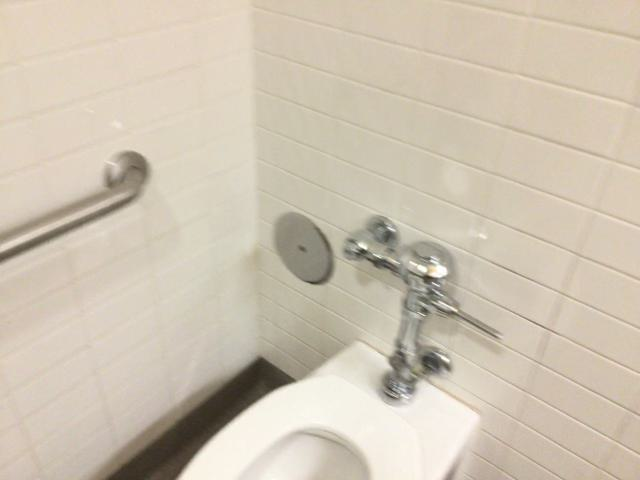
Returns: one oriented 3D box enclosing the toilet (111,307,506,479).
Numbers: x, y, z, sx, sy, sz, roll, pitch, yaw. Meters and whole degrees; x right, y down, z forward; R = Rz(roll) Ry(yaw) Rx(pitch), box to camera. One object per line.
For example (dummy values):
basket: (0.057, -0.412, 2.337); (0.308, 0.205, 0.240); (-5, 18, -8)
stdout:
toilet: (-0.020, 0.500, 1.050); (0.390, 0.370, 0.620); (27, 42, 33)
